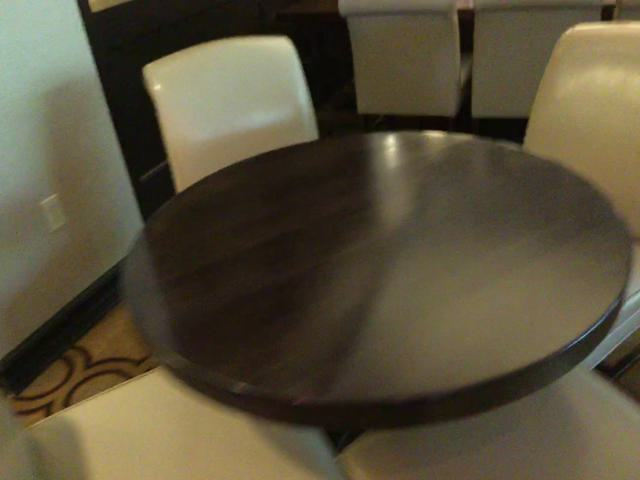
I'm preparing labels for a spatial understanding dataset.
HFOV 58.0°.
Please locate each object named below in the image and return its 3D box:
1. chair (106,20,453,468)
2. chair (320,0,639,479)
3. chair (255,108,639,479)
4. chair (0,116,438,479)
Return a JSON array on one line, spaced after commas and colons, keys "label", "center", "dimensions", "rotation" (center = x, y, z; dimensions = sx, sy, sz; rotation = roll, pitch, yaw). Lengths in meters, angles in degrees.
[{"label": "chair", "center": [-0.140, -0.080, 1.800], "dimensions": [0.660, 0.950, 0.920], "rotation": [-18, 31, -18]}, {"label": "chair", "center": [0.580, -0.040, 1.510], "dimensions": [0.840, 0.940, 0.680], "rotation": [-21, 33, -23]}, {"label": "chair", "center": [0.390, 0.390, 0.850], "dimensions": [0.560, 0.880, 0.830], "rotation": [-20, 32, -21]}, {"label": "chair", "center": [-0.330, 0.410, 0.980], "dimensions": [0.850, 0.930, 0.600], "rotation": [-20, 32, -21]}]
